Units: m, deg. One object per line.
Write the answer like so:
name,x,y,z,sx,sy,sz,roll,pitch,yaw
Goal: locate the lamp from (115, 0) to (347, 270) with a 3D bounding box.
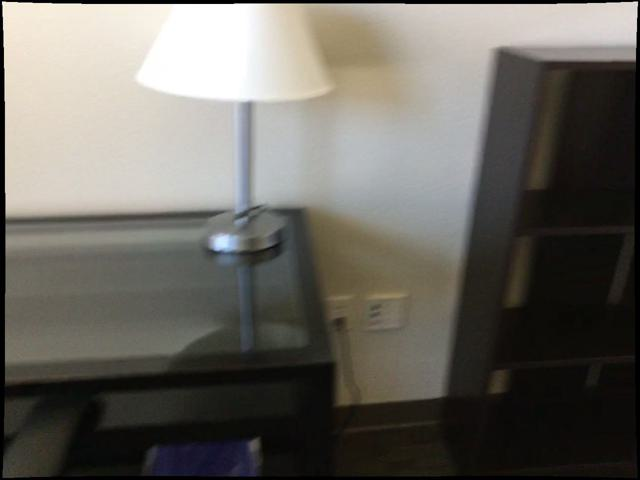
lamp,-0.170,-0.280,1.300,0.410,0.560,0.370,-3,24,-5
